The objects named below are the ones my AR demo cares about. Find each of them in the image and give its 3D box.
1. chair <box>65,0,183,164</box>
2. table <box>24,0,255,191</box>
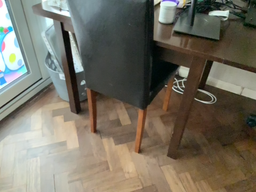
[{"bbox_3d":[0.000,-0.130,1.130,0.340,0.920,0.430,20,44,18],"label":"chair"},{"bbox_3d":[0.260,-0.200,1.370,1.290,0.740,0.900,20,44,19],"label":"table"}]
